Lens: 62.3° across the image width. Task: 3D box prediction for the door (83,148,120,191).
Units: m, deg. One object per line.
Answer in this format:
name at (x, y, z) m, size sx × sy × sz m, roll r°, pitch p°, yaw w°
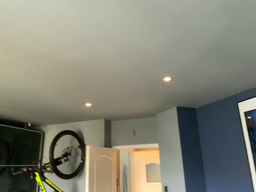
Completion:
door at (-0.370, 1.850, 3.160) m, size 0.090 × 2.040 × 0.950 m, roll -9°, pitch -19°, yaw 22°
